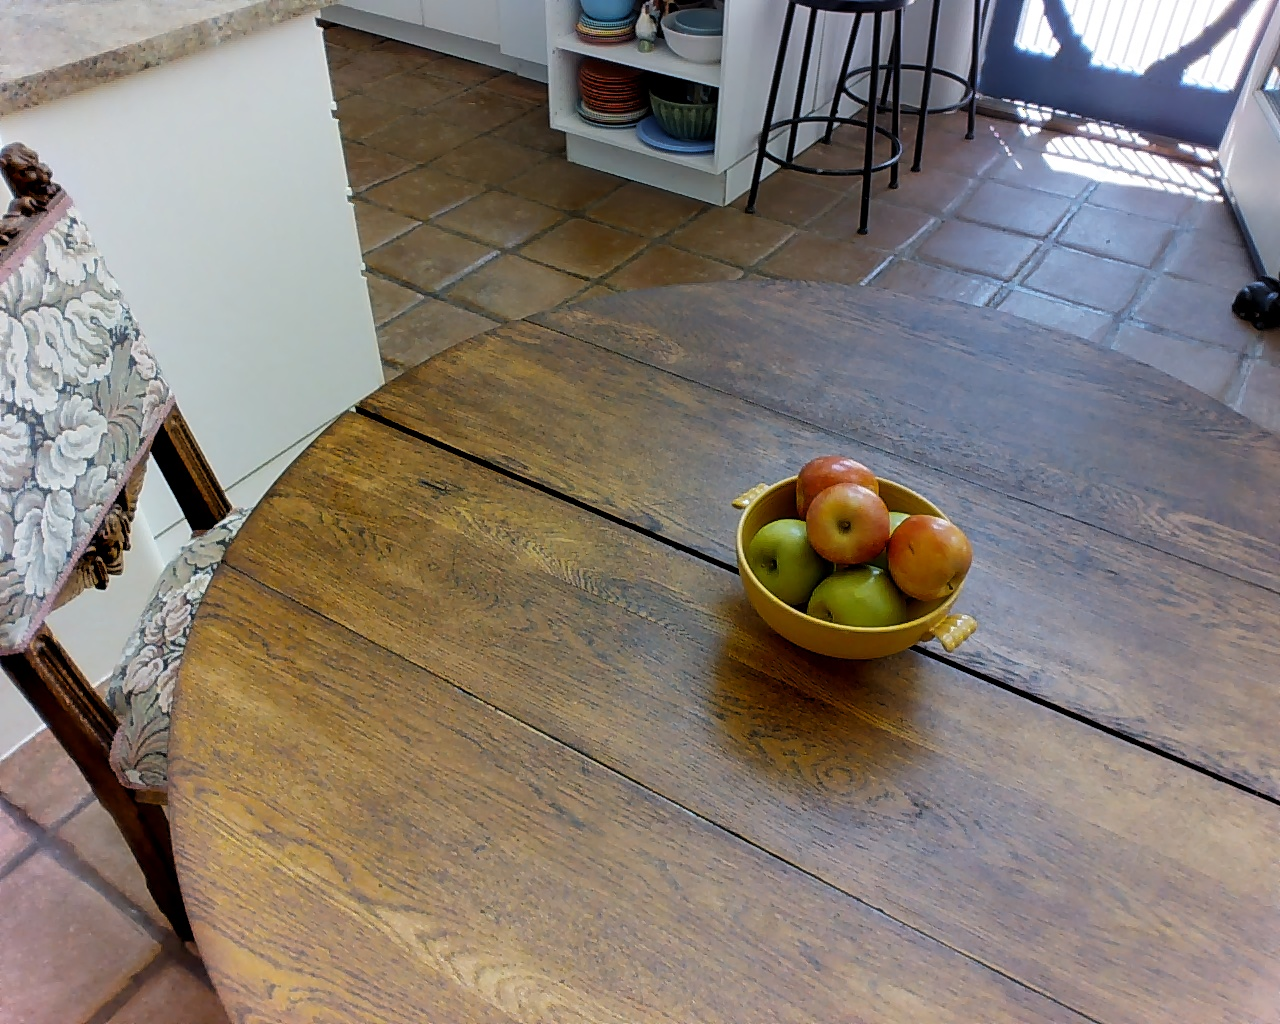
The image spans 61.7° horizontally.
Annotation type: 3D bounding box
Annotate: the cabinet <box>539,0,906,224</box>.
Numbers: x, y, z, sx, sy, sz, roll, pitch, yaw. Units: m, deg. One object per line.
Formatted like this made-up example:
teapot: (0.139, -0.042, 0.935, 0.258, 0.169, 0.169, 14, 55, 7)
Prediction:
cabinet: (0.310, -1.650, 3.370, 0.660, 0.940, 1.170, 25, 47, 25)
